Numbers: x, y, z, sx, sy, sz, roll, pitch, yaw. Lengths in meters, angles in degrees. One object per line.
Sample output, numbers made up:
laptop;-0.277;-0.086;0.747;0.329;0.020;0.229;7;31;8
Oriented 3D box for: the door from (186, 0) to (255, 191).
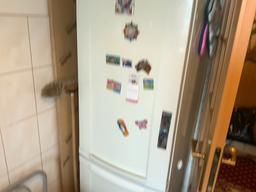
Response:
door;0.430;0.230;1.130;0.070;2.150;0.780;9;21;16
